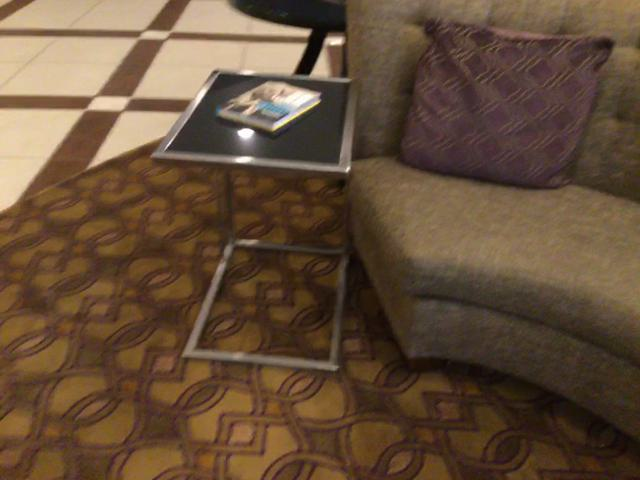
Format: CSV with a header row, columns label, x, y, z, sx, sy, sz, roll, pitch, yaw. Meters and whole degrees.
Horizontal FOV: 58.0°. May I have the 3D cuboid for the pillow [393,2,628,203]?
label,x,y,z,sx,sy,sz,roll,pitch,yaw
pillow,0.530,-0.420,1.750,0.510,0.430,0.340,15,19,3
